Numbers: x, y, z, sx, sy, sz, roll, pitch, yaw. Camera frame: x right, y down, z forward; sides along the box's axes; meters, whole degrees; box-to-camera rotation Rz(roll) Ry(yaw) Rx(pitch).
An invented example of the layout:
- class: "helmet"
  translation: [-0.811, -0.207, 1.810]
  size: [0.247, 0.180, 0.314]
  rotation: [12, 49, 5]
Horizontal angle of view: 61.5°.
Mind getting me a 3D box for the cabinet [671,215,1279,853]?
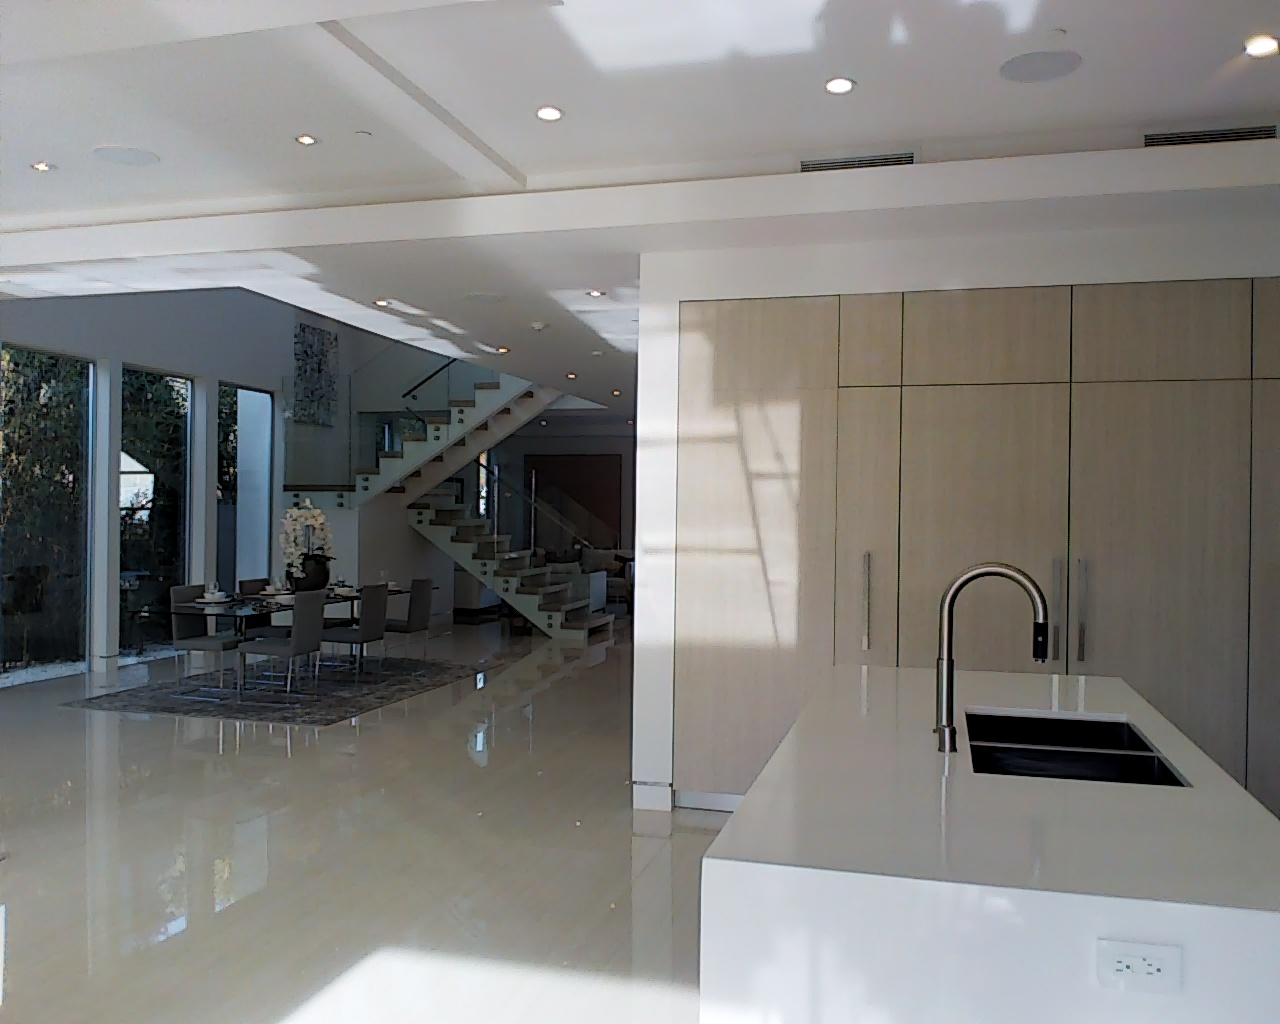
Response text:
- class: "cabinet"
  translation: [2.029, 0.090, 5.020]
  size: [3.818, 2.811, 0.130]
  rotation: [1, 0, 15]
